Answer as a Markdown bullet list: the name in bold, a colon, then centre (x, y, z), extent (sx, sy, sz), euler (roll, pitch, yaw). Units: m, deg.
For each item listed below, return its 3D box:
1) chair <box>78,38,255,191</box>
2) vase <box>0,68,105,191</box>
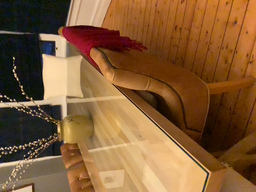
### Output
- **chair**: centre (0.230, 0.060, 1.300), extent (0.540, 0.910, 0.620), euler (51, 137, 50)
- **vase**: centre (-0.670, 0.240, 1.660), extent (0.670, 0.730, 0.750), euler (42, 130, 56)
